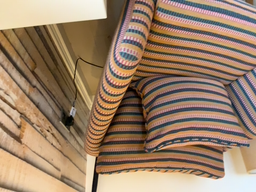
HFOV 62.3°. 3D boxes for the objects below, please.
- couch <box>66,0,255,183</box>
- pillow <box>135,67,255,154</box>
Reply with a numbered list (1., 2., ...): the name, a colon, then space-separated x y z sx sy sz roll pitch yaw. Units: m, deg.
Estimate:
1. couch: 0.230 -0.070 1.050 0.860 0.790 0.820 9 146 -19
2. pillow: 0.280 0.060 0.970 0.470 0.310 0.150 9 134 -8
